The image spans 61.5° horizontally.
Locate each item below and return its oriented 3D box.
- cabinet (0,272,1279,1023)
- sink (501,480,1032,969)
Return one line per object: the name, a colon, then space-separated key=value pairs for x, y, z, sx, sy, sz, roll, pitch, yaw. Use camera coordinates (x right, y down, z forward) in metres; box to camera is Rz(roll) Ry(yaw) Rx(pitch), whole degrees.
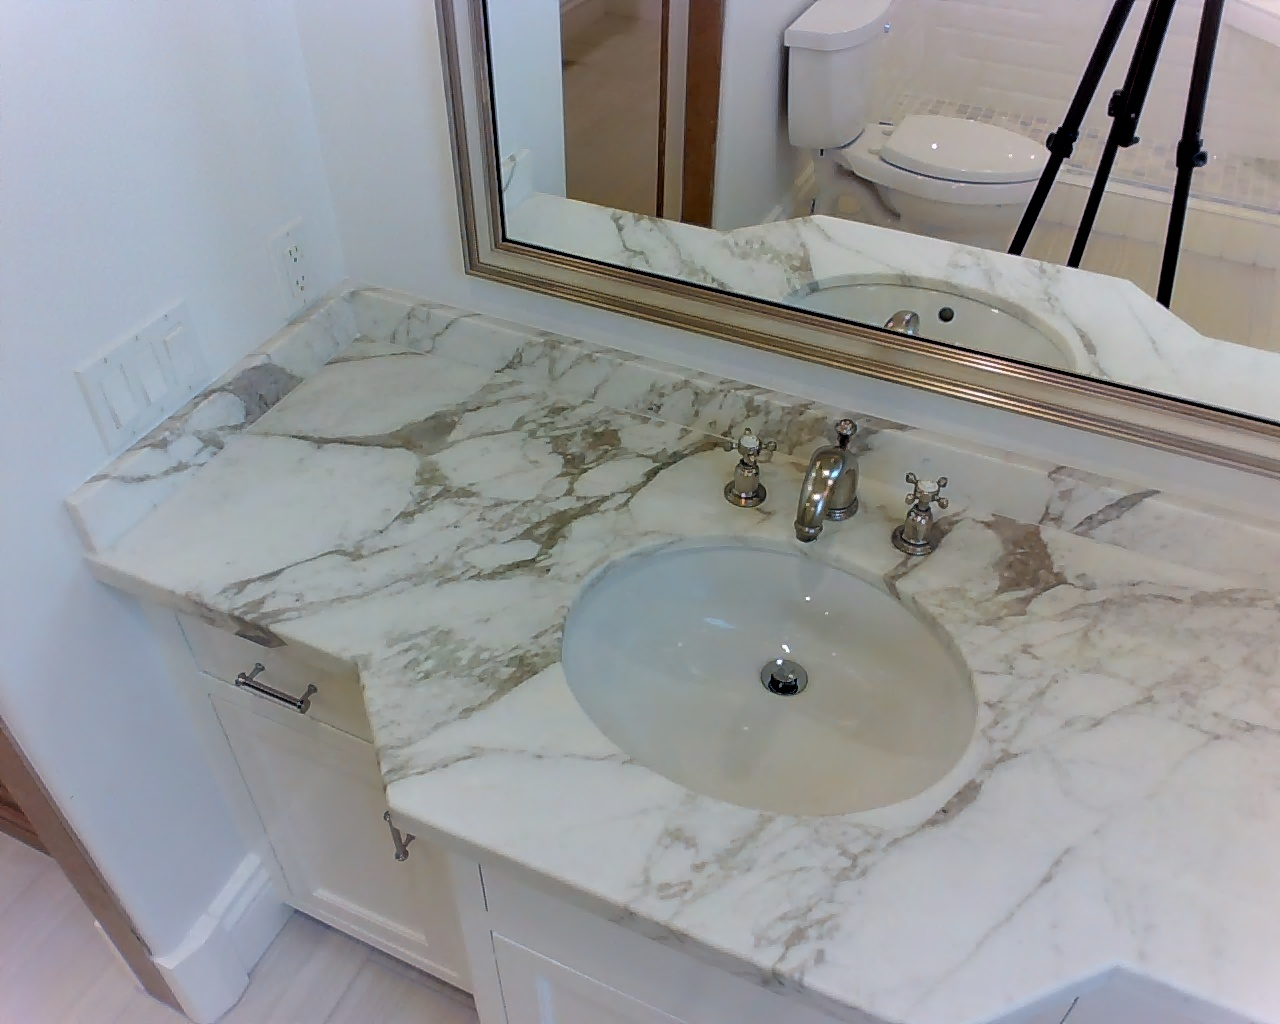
cabinet: x=0.130 y=0.460 z=1.370 sx=1.490 sy=1.030 sz=0.600 roll=18 pitch=44 yaw=17
sink: x=0.140 y=0.200 z=1.160 sx=0.450 sy=0.180 sz=0.350 roll=18 pitch=44 yaw=17
